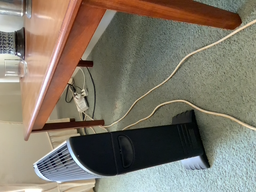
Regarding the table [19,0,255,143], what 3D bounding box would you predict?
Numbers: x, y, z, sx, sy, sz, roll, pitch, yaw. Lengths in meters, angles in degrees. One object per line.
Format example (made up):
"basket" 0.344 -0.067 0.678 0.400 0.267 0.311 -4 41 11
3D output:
"table" -0.180 -0.180 0.890 1.070 0.430 0.500 -38 59 54
